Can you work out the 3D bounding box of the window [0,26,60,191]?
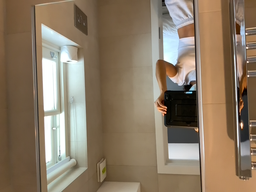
[{"bbox_3d":[-0.620,0.230,1.360,0.060,1.200,0.500,-2,180,13],"label":"window"}]
